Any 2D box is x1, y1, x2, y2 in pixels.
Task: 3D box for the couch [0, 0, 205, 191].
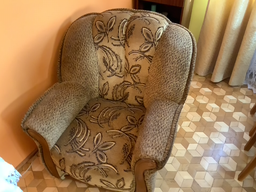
[{"bbox_3d":[-0.100,0.020,1.440,0.930,0.920,0.980,13,42,14],"label":"couch"}]
